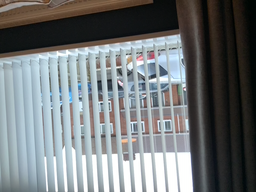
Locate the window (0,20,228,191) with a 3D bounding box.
[{"bbox_3d":[-0.370,0.210,1.560,1.970,1.240,0.070,-4,178,13],"label":"window"}]
